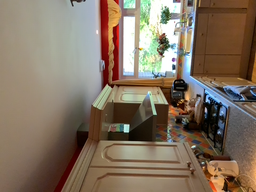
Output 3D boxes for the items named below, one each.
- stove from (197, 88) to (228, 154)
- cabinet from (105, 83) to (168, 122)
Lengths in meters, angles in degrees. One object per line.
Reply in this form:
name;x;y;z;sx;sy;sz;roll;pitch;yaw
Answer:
stove;0.890;0.230;2.300;0.660;0.030;0.500;-84;-5;-75
cabinet;0.120;0.060;3.430;1.110;0.850;0.300;-84;-5;-75
